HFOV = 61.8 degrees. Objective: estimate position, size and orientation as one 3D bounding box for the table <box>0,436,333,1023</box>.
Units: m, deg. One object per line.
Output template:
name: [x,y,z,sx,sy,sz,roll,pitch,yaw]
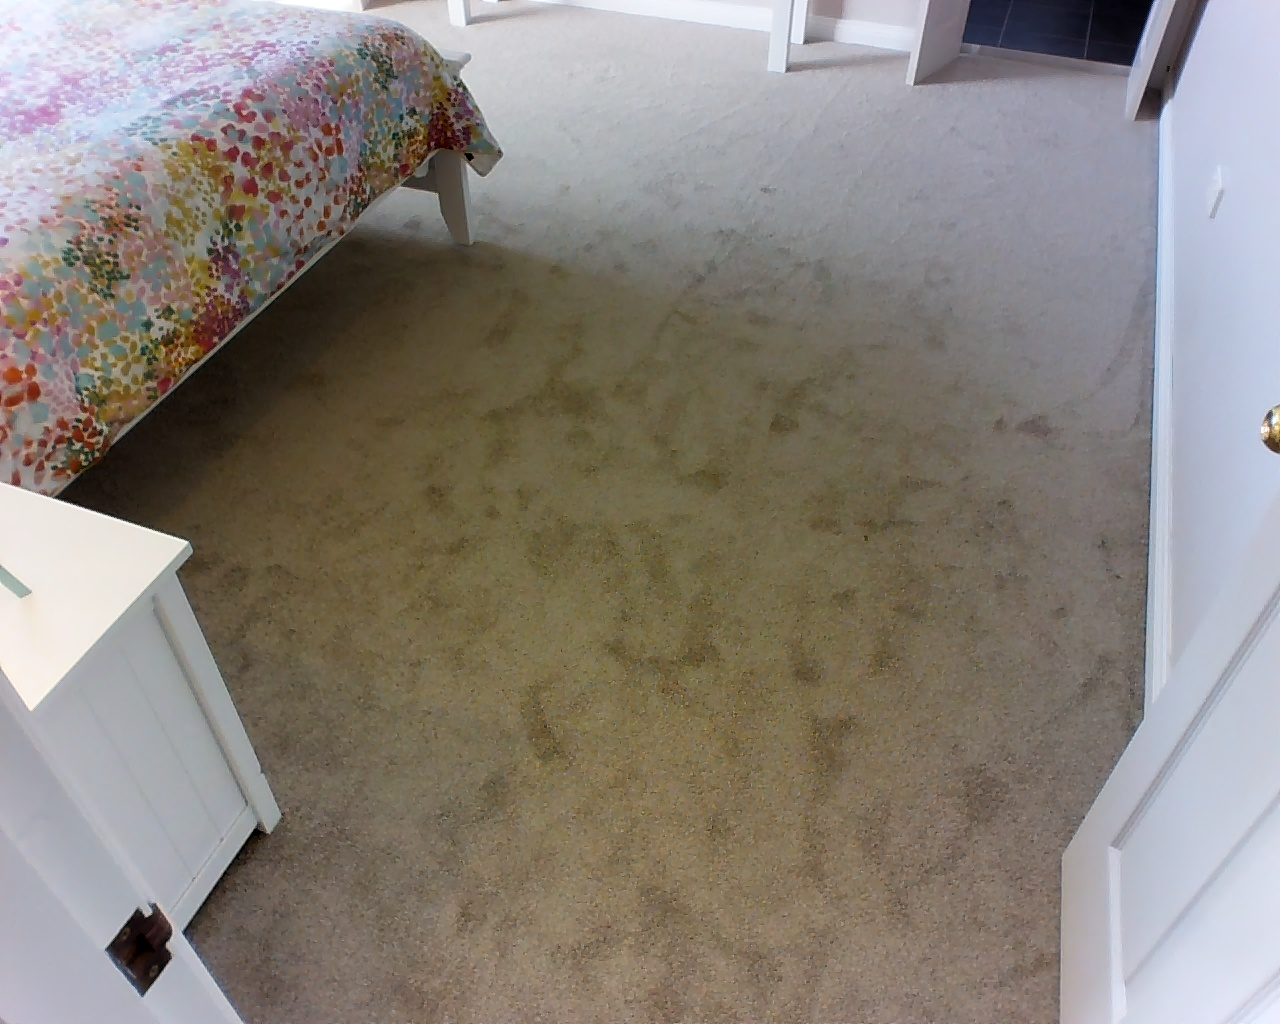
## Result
table: [-0.870,0.310,1.410,0.610,0.660,0.500,15,47,14]
